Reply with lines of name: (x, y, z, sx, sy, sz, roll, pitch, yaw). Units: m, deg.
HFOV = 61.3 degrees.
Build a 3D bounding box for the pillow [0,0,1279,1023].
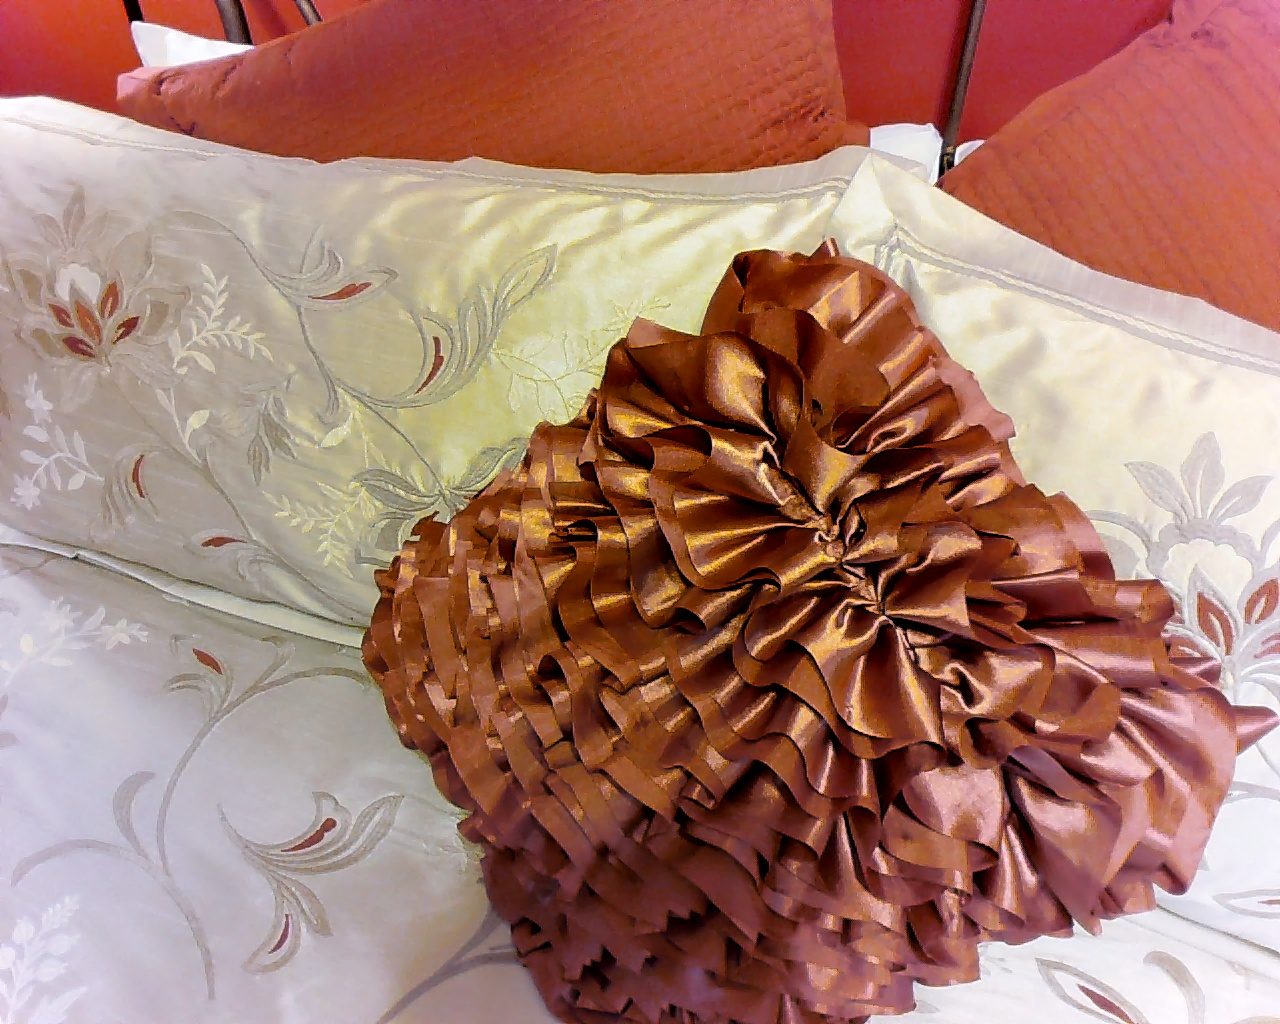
pillow: (0.150, -0.190, 0.830, 2.240, 0.660, 1.020, 16, 46, 15)
